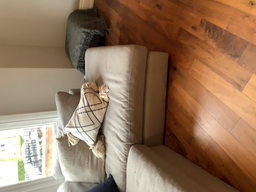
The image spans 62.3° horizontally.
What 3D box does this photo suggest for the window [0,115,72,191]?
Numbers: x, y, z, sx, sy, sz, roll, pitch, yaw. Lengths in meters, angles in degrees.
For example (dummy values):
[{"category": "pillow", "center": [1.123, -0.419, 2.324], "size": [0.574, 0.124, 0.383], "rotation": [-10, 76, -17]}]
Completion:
[{"category": "window", "center": [-1.560, 0.770, 2.530], "size": [0.260, 1.640, 0.920], "rotation": [-4, 90, 61]}]
